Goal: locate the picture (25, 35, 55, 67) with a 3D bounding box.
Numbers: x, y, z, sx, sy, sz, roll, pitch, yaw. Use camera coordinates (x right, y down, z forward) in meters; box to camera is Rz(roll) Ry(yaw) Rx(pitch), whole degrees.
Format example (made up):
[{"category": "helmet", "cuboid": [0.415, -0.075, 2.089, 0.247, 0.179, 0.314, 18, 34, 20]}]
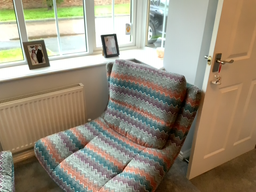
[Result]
[{"category": "picture", "cuboid": [-0.720, -0.370, 1.740, 0.170, 0.220, 0.110, -17, 32, -32]}]
